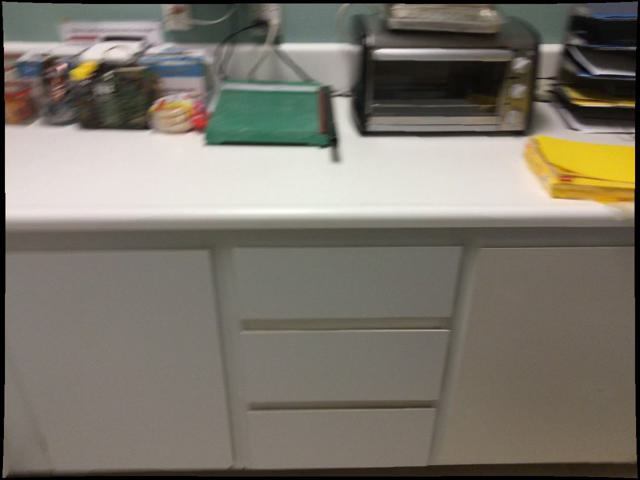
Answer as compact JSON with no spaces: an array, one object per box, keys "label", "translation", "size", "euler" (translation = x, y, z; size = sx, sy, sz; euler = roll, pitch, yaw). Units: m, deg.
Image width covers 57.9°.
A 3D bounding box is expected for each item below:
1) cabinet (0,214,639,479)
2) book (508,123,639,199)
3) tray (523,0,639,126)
[{"label":"cabinet","translation":[0.110,0.330,1.460],"size":[1.928,0.831,0.090],"euler":[-1,32,-2]},{"label":"book","translation":[0.659,-0.190,1.340],"size":[0.350,0.050,0.300],"euler":[-1,32,-2]},{"label":"tray","translation":[0.869,-0.531,1.640],"size":[0.420,0.290,0.360],"euler":[-1,32,-2]}]
